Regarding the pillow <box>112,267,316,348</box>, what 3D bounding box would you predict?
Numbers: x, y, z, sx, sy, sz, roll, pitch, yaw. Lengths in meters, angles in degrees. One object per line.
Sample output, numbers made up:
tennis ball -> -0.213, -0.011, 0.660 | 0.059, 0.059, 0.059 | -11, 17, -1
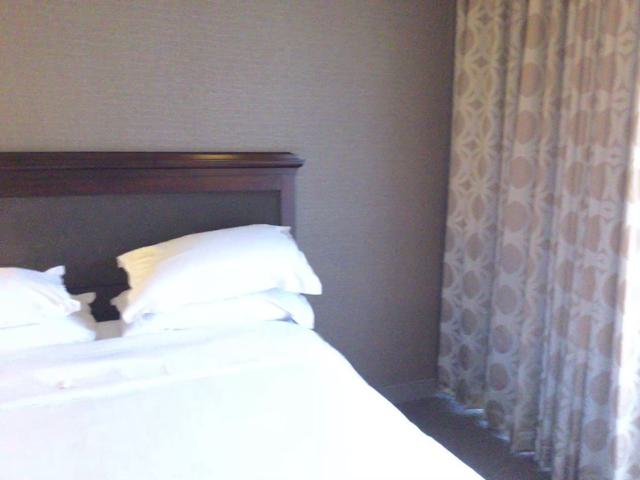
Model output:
pillow -> -0.440, 0.250, 2.350 | 0.720, 0.180, 0.450 | -2, 7, -25

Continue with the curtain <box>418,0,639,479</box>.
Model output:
curtain -> 0.950, -0.060, 2.510 | 0.310, 2.090, 1.190 | -2, 7, -25

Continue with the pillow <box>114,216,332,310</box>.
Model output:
pillow -> -0.400, 0.080, 2.310 | 0.750, 0.280, 0.460 | 2, 6, -25

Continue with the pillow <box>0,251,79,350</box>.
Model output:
pillow -> -1.250, 0.200, 1.970 | 0.760, 0.220, 0.580 | -2, 7, -25
